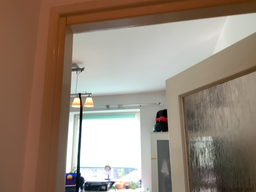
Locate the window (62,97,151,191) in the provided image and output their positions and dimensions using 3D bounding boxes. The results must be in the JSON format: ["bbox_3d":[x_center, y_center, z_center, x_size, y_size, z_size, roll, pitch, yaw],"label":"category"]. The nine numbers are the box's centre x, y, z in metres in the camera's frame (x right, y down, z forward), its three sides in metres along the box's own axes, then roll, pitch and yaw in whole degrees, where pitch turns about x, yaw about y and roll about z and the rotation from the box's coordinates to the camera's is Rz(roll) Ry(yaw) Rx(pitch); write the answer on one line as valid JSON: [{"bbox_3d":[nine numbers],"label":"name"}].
[{"bbox_3d":[-0.440,0.960,4.210,1.720,1.840,0.080,-3,-13,11],"label":"window"}]
